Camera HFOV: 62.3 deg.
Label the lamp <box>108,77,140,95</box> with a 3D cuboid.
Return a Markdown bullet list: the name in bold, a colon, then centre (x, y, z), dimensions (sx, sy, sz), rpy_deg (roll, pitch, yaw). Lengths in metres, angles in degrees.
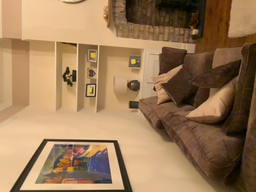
- **lamp**: centre (-0.070, -0.170, 3.430), dimensions (0.300, 0.450, 0.250), rpy_deg (-156, 69, -78)

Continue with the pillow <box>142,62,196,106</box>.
- **pillow**: centre (0.470, -0.160, 2.520), dimensions (0.180, 0.510, 0.400), rpy_deg (47, 176, -16)

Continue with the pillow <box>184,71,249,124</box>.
- **pillow**: centre (0.660, 0.030, 1.640), dimensions (0.160, 0.380, 0.300), rpy_deg (48, 176, 7)

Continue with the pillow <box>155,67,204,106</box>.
- **pillow**: centre (0.560, -0.120, 2.370), dimensions (0.180, 0.410, 0.320), rpy_deg (50, 176, -17)

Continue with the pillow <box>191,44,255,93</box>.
- **pillow**: centre (0.720, -0.190, 1.600), dimensions (0.350, 0.350, 0.150), rpy_deg (106, 140, -78)

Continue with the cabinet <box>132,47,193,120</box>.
- **cabinet**: centre (0.550, -0.200, 3.540), dimensions (0.400, 0.830, 1.110), rpy_deg (-148, 62, -78)
